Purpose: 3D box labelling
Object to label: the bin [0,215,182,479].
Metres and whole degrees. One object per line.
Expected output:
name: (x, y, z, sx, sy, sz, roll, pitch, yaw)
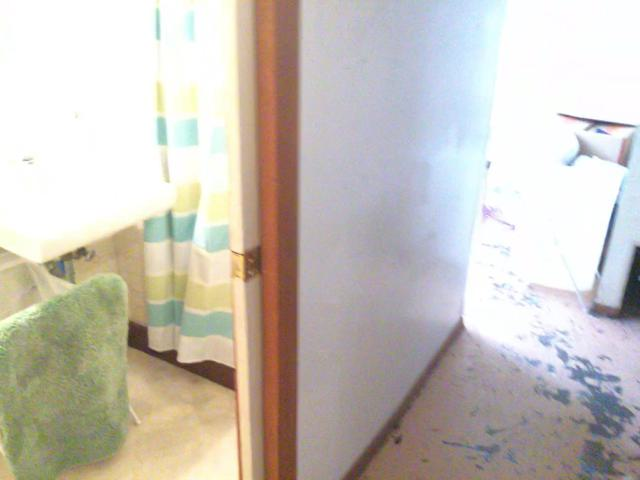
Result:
bin: (-0.940, 0.380, 1.920, 0.640, 0.650, 0.590, 14, 29, 28)
